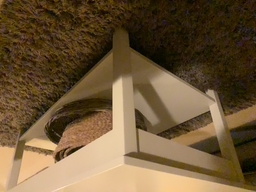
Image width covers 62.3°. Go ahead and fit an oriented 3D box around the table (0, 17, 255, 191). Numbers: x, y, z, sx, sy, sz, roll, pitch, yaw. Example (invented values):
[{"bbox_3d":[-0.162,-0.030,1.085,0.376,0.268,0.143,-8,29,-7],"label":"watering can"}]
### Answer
[{"bbox_3d":[-0.120,0.280,1.030,0.670,0.460,1.010,24,137,-35],"label":"table"}]
